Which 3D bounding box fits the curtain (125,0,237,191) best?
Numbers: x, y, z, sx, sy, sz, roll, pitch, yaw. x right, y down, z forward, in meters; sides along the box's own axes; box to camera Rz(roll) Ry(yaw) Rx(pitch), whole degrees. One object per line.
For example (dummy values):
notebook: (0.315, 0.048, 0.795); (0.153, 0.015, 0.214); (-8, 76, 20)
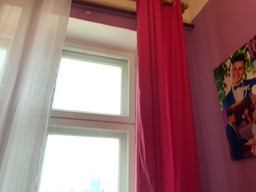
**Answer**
curtain: (0.340, 0.090, 1.640); (0.630, 2.080, 0.350); (7, -24, -13)
